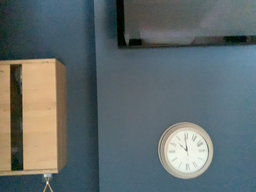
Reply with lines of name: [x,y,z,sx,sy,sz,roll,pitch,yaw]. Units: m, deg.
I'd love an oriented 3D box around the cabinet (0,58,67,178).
cabinet: [-0.790,0.160,1.700,0.510,0.870,0.290,-2,177,-3]
